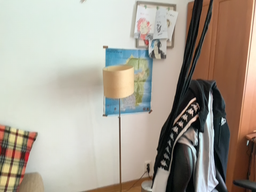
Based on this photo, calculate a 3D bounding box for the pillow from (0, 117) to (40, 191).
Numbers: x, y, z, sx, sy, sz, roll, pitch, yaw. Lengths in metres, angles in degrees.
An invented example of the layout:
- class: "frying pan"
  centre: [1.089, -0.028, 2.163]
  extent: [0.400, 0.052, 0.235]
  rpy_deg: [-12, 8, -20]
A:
- class: "pillow"
  centre: [-1.030, 0.520, 1.680]
  extent: [0.580, 0.570, 0.360]
  rpy_deg: [-4, 13, -21]

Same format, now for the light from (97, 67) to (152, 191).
- class: "light"
  centre: [-0.060, 0.460, 2.040]
  extent: [0.350, 1.430, 0.430]
  rpy_deg: [-4, 14, -23]
